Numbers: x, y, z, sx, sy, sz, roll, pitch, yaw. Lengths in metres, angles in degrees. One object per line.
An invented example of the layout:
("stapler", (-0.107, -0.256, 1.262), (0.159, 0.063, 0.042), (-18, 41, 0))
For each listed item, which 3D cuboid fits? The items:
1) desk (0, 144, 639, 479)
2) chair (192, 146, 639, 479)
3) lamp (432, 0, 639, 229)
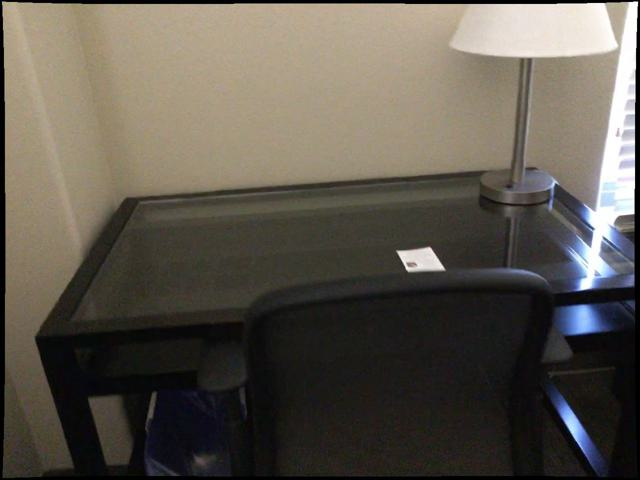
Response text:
("desk", (0.090, 0.330, 1.510), (1.309, 0.811, 0.920), (-4, 27, 0))
("chair", (0.150, 0.400, 1.160), (0.569, 1.021, 0.490), (-5, 27, -1))
("lamp", (0.519, -0.400, 1.420), (0.410, 0.620, 0.330), (-7, 28, 1))
